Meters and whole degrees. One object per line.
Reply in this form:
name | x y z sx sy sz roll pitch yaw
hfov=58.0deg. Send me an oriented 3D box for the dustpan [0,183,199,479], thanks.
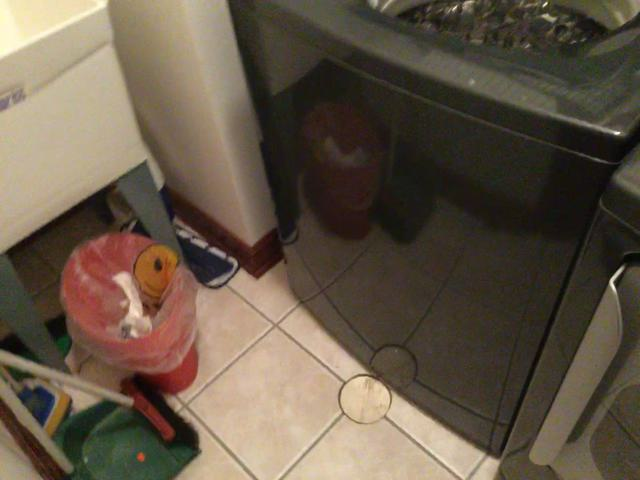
dustpan | -0.470 0.250 1.020 0.260 0.780 0.220 33 59 30
